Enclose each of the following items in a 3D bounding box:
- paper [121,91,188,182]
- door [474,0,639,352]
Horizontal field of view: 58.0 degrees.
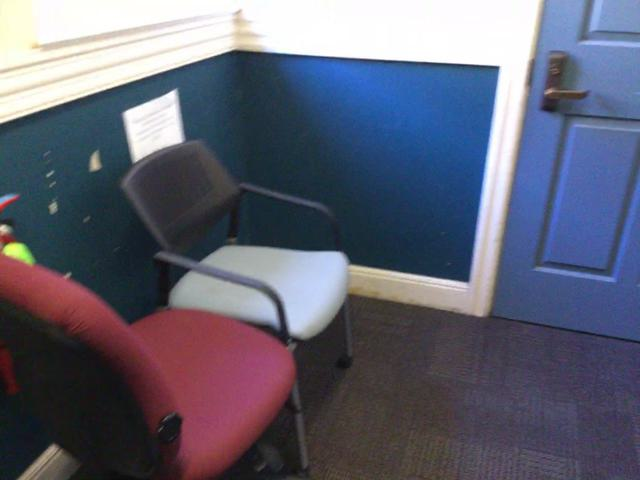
[{"bbox_3d":[-0.510,-0.330,1.810,0.020,0.220,0.290,8,25,17],"label":"paper"},{"bbox_3d":[1.100,-0.230,1.880,1.020,1.340,0.080,8,25,17],"label":"door"}]
